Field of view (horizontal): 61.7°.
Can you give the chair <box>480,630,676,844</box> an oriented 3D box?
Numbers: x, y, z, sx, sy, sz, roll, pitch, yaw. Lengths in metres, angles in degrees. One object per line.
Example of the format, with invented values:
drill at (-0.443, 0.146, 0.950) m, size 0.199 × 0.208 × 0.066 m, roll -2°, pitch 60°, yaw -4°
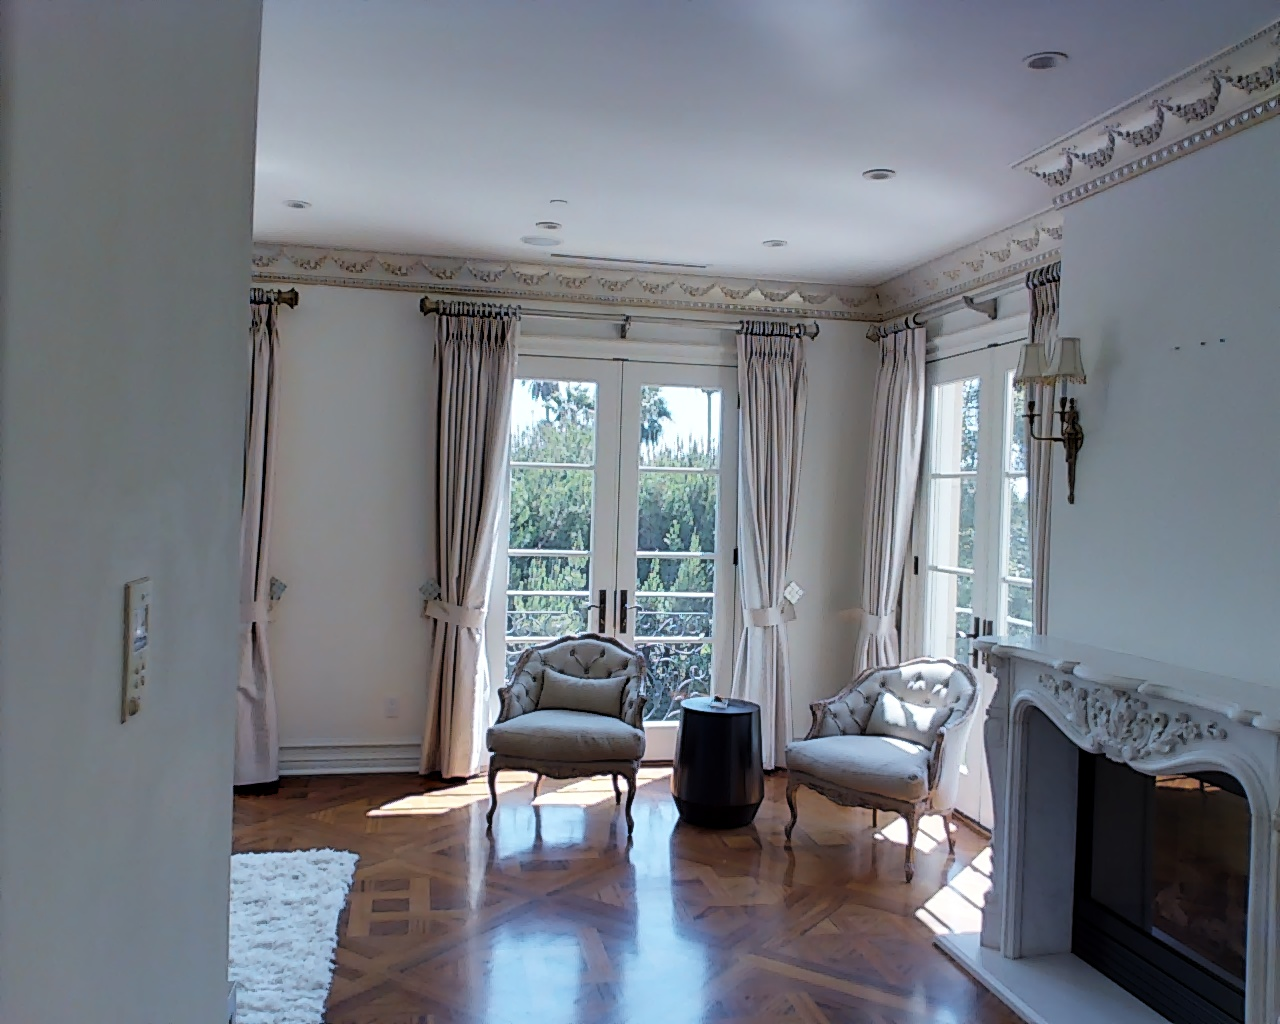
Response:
chair at (-0.280, 1.100, 5.480) m, size 0.830 × 0.850 × 0.930 m, roll 2°, pitch 1°, yaw 7°
